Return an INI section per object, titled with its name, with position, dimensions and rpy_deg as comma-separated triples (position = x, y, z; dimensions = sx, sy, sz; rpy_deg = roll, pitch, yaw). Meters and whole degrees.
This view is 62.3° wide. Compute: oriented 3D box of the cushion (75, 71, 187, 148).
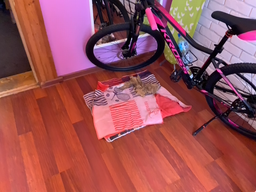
[cushion]
position = 0.020, 0.060, 1.820
dimensions = 0.780, 0.050, 0.560
rpy_deg = -19, 48, -21
